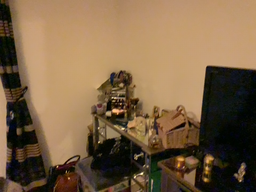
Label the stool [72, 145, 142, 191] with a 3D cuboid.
[{"bbox_3d":[-0.200,0.790,1.880,0.440,0.470,0.460,-7,14,-32],"label":"stool"}]

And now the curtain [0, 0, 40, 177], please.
[{"bbox_3d":[-0.990,-0.340,1.730,0.330,2.000,0.220,-7,14,-32],"label":"curtain"}]

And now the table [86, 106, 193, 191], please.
[{"bbox_3d":[0.020,0.610,2.020,0.430,0.770,1.080,-7,14,-32],"label":"table"}]
